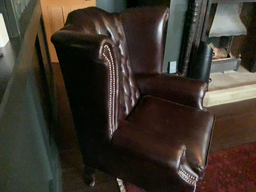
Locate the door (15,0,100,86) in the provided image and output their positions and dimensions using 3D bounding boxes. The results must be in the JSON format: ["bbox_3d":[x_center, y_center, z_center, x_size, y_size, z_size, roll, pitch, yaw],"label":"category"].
[{"bbox_3d":[-0.900,-1.190,2.670,0.980,2.300,0.140,2,32,2],"label":"door"}]

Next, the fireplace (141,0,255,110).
[{"bbox_3d":[1.190,-0.820,2.500,1.690,1.300,1.130,-9,34,-16],"label":"fireplace"}]

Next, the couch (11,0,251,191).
[{"bbox_3d":[0.090,0.050,1.300,0.880,1.040,0.840,16,35,22],"label":"couch"}]
